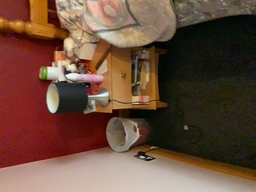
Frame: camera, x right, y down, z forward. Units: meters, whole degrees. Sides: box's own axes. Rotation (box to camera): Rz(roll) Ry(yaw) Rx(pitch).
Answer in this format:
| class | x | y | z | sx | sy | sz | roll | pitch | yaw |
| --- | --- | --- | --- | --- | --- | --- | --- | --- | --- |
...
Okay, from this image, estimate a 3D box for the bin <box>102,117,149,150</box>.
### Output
| class | x | y | z | sx | sy | sz | roll | pitch | yaw |
| --- | --- | --- | --- | --- | --- | --- | --- | --- | --- |
| bin | -0.020 | 0.290 | 1.740 | 0.260 | 0.290 | 0.200 | 0 | 91 | 49 |
